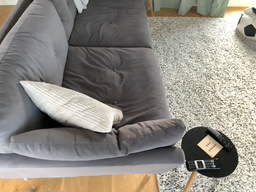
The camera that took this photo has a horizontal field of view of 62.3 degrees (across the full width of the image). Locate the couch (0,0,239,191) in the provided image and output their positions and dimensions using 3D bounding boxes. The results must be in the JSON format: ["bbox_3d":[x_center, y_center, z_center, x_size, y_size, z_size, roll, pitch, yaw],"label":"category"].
[{"bbox_3d":[-0.240,-0.400,1.660,1.020,0.800,2.110,-1,48,-5],"label":"couch"}]
